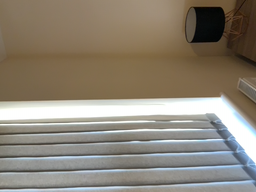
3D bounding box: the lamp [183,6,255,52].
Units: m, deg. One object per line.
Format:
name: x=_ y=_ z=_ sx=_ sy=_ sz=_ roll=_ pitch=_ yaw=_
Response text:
lamp: x=0.660 y=-0.500 z=1.580 sx=0.250 sy=0.390 sz=0.280 roll=-96 pitch=7 yaw=-62
